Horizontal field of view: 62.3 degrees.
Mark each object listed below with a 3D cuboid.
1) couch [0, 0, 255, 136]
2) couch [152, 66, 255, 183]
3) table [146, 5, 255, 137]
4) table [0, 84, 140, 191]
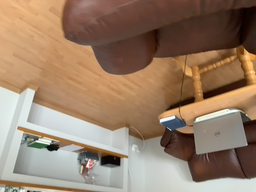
[{"bbox_3d":[0.310,-0.450,0.990,1.150,0.940,0.950,-5,150,11],"label":"couch"},{"bbox_3d":[1.440,0.400,2.500,2.050,0.940,1.050,-25,142,38],"label":"couch"},{"bbox_3d":[0.770,-0.130,1.860,1.110,0.640,0.550,-24,142,37],"label":"table"},{"bbox_3d":[-0.640,0.790,3.060,0.350,1.130,2.090,-24,142,37],"label":"table"}]
